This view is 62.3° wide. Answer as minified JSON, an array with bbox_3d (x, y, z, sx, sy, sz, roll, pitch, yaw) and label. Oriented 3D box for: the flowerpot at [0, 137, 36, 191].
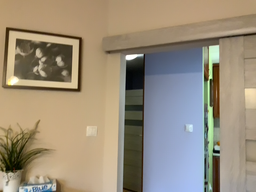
[{"bbox_3d":[-0.740,0.450,1.400,0.220,0.330,0.130,4,-5,-22],"label":"flowerpot"}]
